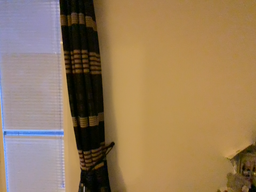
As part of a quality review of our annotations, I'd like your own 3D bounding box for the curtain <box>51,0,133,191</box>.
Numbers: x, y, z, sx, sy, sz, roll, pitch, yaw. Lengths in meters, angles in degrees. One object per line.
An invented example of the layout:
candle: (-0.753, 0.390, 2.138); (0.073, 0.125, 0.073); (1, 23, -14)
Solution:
curtain: (-0.170, 0.260, 1.200); (0.380, 2.220, 0.240); (0, 7, 3)
